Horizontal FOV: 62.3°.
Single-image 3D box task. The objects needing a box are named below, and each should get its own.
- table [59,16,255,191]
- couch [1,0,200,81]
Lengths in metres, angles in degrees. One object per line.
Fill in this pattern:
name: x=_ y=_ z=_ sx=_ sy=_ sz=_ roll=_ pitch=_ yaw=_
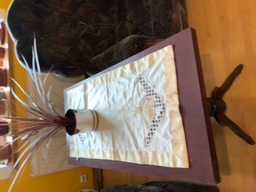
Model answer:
table: x=0.110 y=0.110 z=1.390 sx=1.190 sy=0.630 sz=0.620 roll=-15 pitch=79 yaw=48
couch: x=-0.210 y=-0.610 z=1.470 sx=0.860 sy=1.020 sz=0.830 roll=-11 pitch=82 yaw=49
